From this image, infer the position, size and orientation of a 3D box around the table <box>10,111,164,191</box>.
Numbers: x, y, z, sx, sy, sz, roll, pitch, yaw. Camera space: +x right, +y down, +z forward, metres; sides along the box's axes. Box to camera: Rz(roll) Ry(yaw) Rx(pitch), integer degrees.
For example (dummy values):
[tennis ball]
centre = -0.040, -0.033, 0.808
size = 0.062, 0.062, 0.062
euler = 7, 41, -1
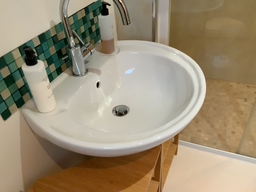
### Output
[table]
centre = -0.090, 0.430, 0.860
size = 0.360, 0.590, 0.350
euler = 12, 42, 20
